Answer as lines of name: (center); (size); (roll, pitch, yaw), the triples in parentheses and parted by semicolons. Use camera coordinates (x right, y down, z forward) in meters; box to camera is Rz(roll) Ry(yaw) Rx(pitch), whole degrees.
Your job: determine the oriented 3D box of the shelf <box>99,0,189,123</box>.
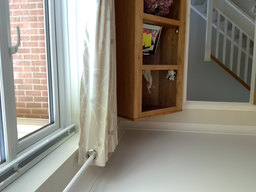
shelf: (0.160, -0.480, 2.140); (0.720, 1.310, 0.510); (-6, -170, -39)
